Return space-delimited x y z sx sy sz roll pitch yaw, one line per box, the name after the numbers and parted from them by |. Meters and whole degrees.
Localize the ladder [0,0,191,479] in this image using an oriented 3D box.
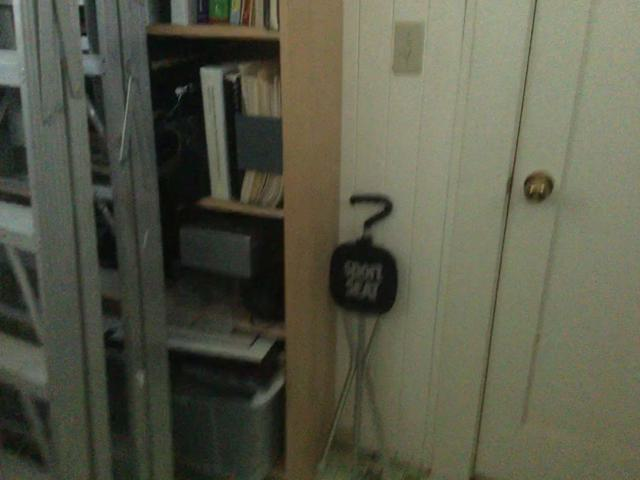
-0.670 -0.400 1.160 0.640 2.390 0.410 9 19 19 | ladder
